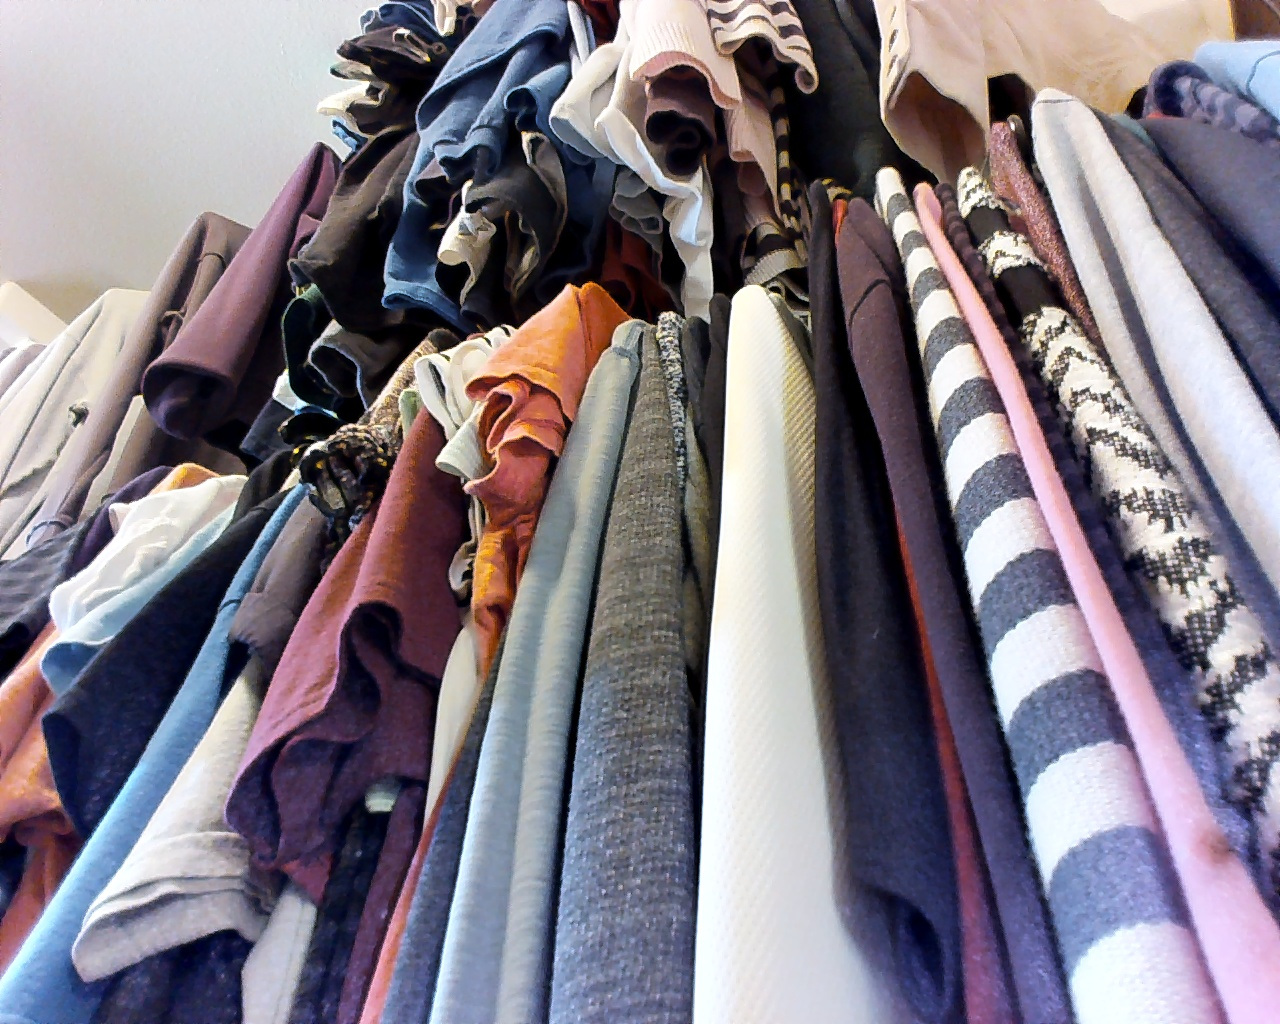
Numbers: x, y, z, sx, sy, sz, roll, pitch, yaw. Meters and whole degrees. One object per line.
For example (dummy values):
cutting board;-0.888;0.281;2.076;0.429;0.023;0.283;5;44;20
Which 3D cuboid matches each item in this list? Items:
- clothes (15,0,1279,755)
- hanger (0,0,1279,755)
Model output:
clothes;0.120;-0.520;1.210;0.980;1.170;0.650;-22;-46;21
hanger;0.020;-0.130;0.760;1.060;0.230;0.260;-22;-46;21
